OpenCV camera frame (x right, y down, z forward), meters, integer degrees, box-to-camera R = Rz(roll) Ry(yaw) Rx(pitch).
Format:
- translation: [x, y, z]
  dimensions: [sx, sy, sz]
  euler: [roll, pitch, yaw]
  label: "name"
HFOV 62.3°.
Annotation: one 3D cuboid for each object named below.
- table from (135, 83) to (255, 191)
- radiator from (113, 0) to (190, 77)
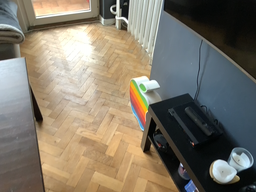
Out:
- translation: [0.390, 0.450, 1.100]
  dimensions: [0.290, 0.460, 0.960]
  euler: [-14, 51, -18]
  label: "table"
- translation: [0.140, -0.750, 2.050]
  dimensions: [0.230, 0.690, 0.890]
  euler: [-11, 49, -21]
  label: "radiator"
